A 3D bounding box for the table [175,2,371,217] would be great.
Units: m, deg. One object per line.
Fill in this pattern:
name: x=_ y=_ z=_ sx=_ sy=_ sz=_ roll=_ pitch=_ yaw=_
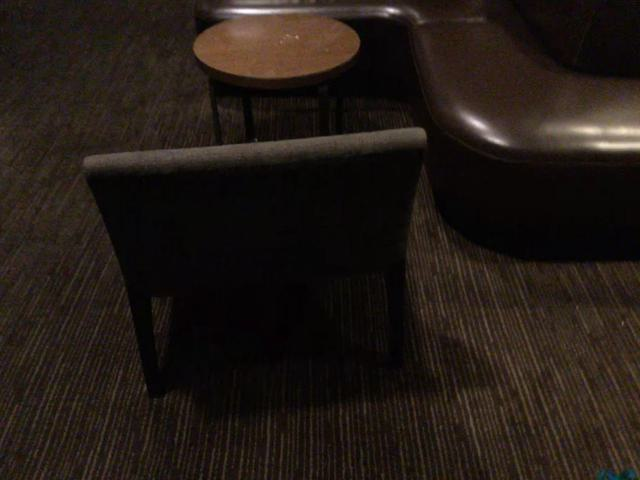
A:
table: x=-0.110 y=-0.480 z=2.090 sx=0.580 sy=0.540 sz=0.580 roll=1 pitch=41 yaw=4
